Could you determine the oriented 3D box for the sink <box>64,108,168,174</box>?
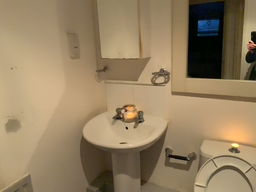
[{"bbox_3d":[-0.070,0.270,1.500,0.590,0.200,0.430,5,16,29],"label":"sink"}]
